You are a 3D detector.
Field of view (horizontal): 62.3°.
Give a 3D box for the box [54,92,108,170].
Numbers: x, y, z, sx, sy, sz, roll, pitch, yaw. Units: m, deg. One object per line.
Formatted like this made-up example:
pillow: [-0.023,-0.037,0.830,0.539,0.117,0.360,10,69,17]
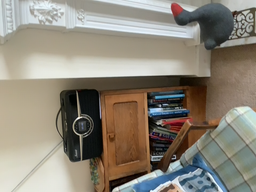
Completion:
box: [-0.260,0.160,1.140,0.270,0.190,0.350,4,98,58]
